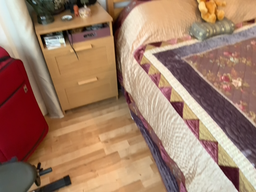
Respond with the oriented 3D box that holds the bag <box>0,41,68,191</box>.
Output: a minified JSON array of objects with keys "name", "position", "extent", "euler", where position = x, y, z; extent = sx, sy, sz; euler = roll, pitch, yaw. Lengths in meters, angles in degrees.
[{"name":"bag","position":[-0.770,0.130,1.340],"extent":[0.370,0.740,0.550],"euler":[12,44,16]}]
